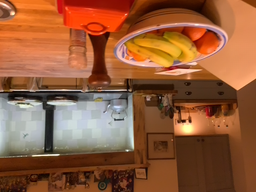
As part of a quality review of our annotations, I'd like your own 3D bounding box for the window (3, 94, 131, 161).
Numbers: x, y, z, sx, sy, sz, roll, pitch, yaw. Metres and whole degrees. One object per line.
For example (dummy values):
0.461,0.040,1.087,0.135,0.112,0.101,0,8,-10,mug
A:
-0.790,0.400,2.940,1.630,0.830,0.170,-1,171,-11,window
